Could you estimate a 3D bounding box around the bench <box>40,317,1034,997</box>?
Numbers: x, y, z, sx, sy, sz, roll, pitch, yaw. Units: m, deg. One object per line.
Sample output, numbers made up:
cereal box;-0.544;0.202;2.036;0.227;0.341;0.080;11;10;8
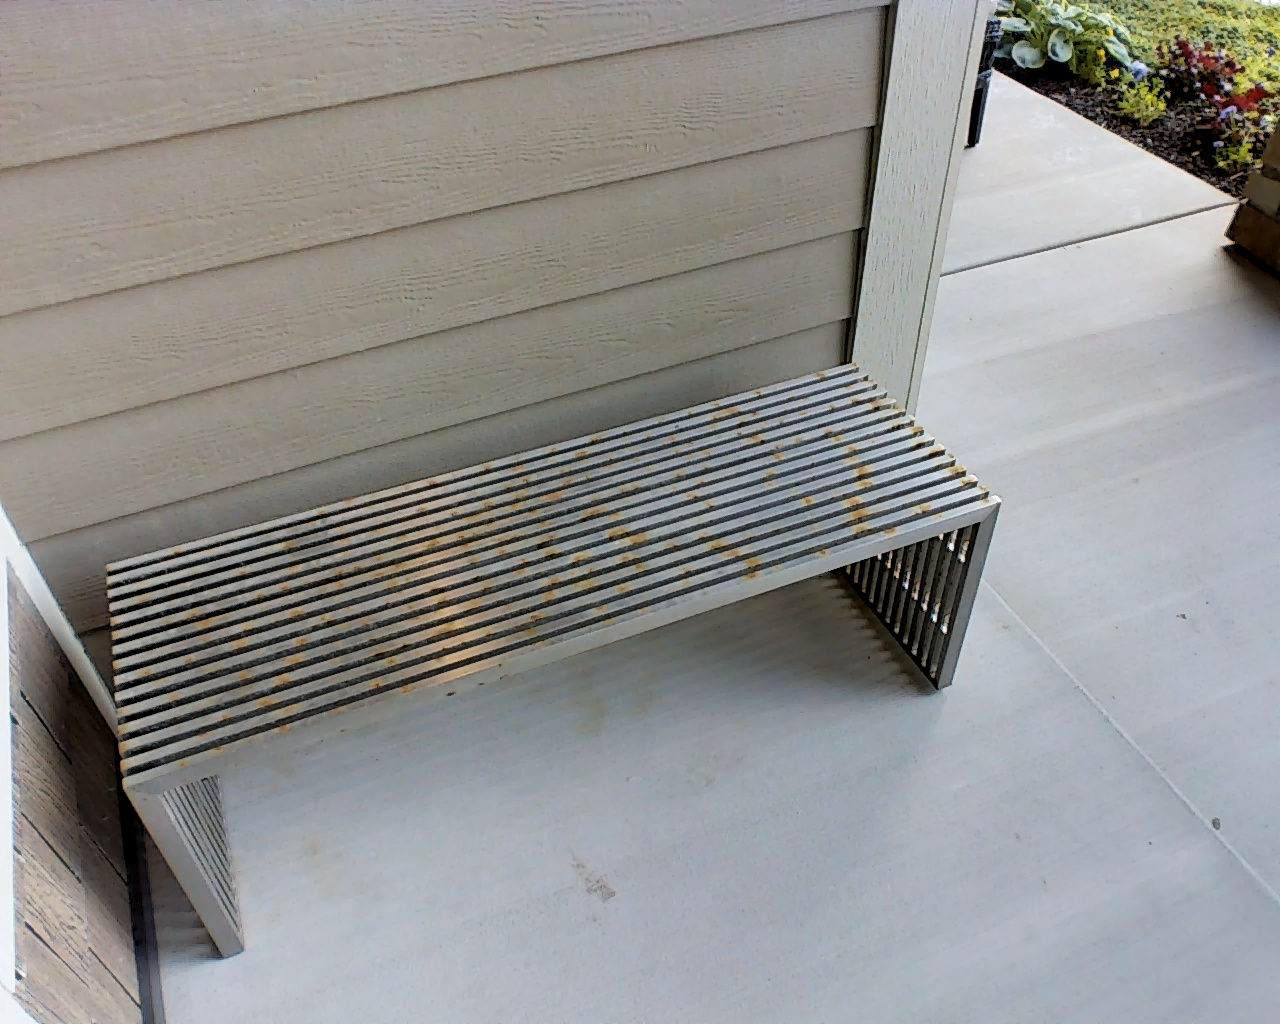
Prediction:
bench;-0.140;0.160;1.650;1.300;0.430;0.510;-17;45;-16
